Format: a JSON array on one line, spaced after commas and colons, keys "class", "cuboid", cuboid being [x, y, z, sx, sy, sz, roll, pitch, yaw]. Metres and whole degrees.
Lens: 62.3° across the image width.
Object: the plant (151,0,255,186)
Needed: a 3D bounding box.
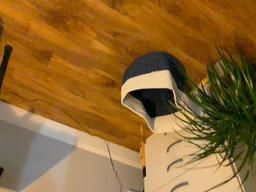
[{"class": "plant", "cuboid": [0.450, -0.070, 1.040, 0.470, 0.760, 0.430, 19, 129, -16]}]
